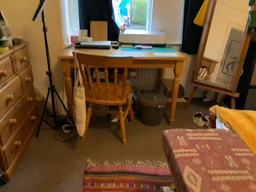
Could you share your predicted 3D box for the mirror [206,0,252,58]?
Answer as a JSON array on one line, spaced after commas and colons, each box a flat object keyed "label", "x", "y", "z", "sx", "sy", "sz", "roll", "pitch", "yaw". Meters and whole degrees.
[{"label": "mirror", "x": 1.040, "y": -0.810, "z": 2.230, "sx": 0.420, "sy": 0.800, "sz": 0.080, "roll": 14, "pitch": 35, "yaw": 40}]

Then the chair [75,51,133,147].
[{"label": "chair", "x": -0.210, "y": 0.020, "z": 2.010, "sx": 0.450, "sy": 0.780, "sz": 0.460, "roll": 1, "pitch": 23, "yaw": -3}]
